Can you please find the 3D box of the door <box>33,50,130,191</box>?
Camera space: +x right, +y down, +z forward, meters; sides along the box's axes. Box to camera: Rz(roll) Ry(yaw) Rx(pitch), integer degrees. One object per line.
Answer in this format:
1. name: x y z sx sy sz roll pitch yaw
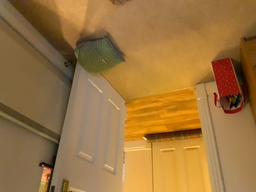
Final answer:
1. door: -0.260 0.770 1.460 0.160 2.060 0.940 -11 146 19
